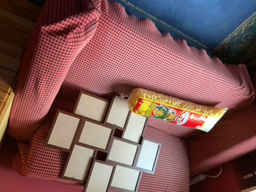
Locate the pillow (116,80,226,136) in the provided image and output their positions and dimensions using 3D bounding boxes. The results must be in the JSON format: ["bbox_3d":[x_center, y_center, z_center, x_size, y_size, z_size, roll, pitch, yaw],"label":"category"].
[{"bbox_3d":[0.260,0.090,1.290,0.640,0.110,0.190,16,137,-18],"label":"pillow"}]

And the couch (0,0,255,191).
[{"bbox_3d":[0.080,0.130,1.390,1.490,0.810,1.070,20,136,-22],"label":"couch"}]
